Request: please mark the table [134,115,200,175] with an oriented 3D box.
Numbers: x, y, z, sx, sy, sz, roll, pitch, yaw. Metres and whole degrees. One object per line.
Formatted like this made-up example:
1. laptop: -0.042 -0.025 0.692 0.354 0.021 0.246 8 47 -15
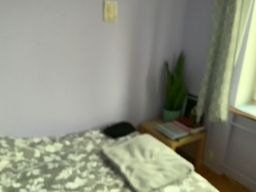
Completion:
1. table: 0.480 0.580 2.690 0.550 0.420 0.560 -9 21 -35
